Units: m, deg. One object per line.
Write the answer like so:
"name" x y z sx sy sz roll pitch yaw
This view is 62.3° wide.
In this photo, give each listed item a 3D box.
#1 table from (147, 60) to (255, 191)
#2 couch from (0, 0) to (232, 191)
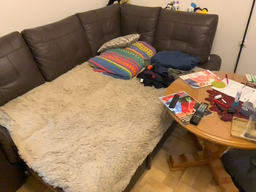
"table" 0.710 0.240 1.670 0.800 0.630 0.820 19 39 26
"couch" -0.230 -0.200 2.110 1.650 0.930 2.550 20 39 27
